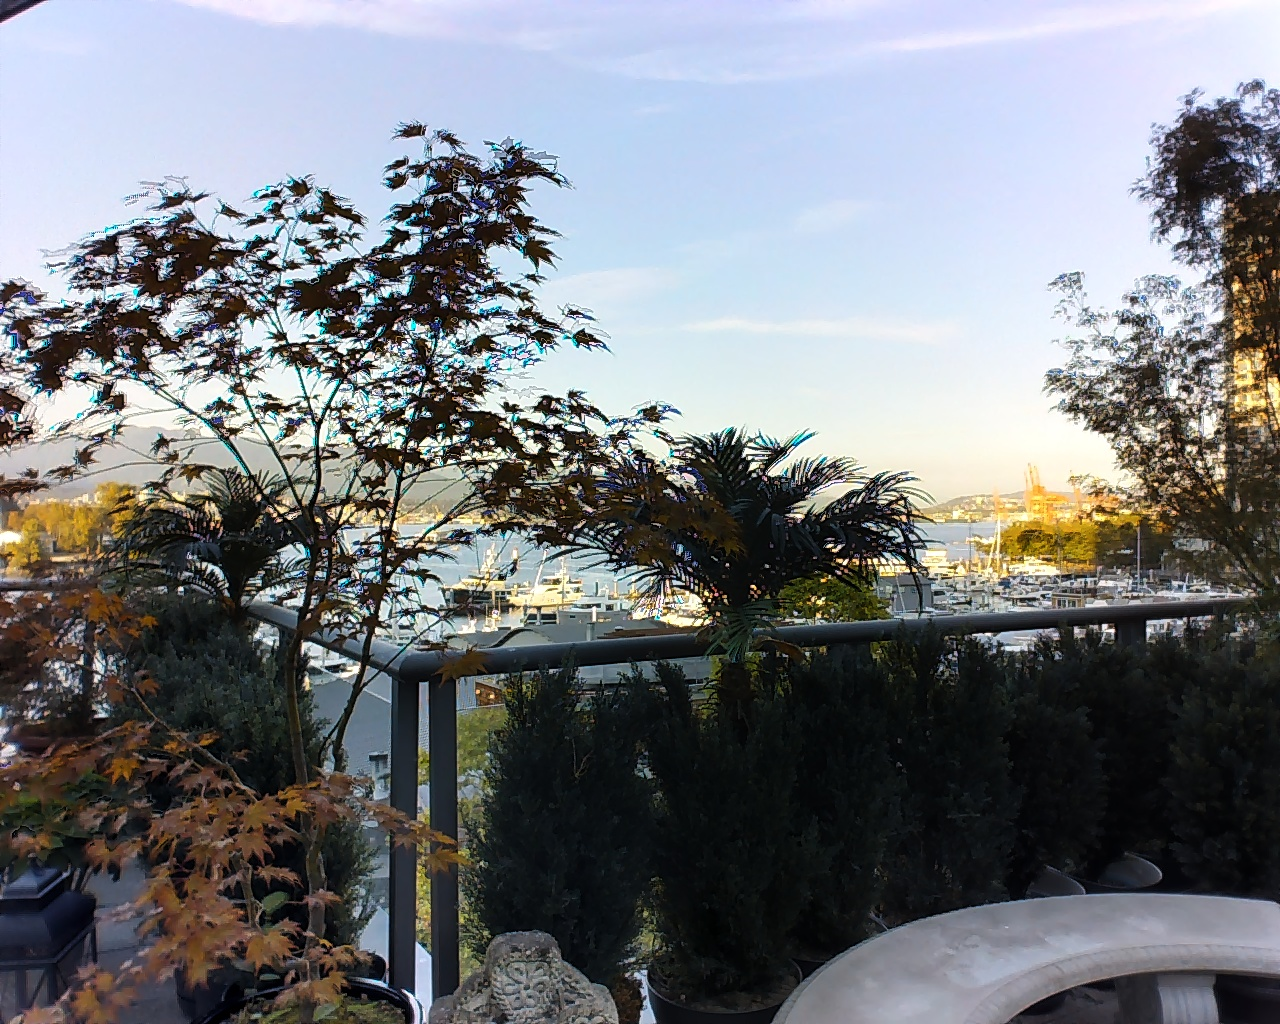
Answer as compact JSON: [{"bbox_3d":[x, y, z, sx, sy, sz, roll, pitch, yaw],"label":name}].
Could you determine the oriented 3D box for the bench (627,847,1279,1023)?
[{"bbox_3d":[0.860,1.190,2.410,1.620,0.440,0.740,0,-1,-29],"label":"bench"}]
